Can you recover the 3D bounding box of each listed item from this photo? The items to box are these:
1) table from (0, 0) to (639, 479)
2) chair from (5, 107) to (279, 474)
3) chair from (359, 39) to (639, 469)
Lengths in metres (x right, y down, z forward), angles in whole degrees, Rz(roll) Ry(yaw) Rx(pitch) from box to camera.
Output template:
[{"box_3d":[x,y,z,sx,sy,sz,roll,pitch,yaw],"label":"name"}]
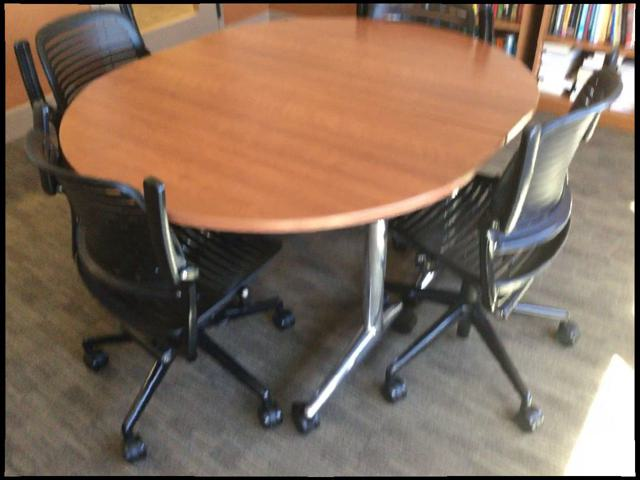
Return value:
[{"box_3d":[0.010,-0.130,1.830,1.319,0.771,1.490,25,45,31],"label":"table"},{"box_3d":[-0.429,0.110,1.470,0.419,0.661,0.510,-20,41,-23],"label":"chair"},{"box_3d":[0.449,0.030,1.520,0.440,0.881,0.560,23,44,29],"label":"chair"}]
